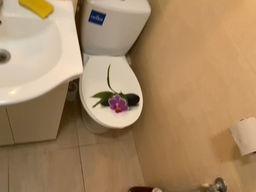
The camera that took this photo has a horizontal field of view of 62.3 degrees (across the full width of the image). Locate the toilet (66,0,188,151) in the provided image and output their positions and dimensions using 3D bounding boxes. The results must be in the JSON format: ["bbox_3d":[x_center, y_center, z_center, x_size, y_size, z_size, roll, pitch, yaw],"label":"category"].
[{"bbox_3d":[-0.110,-0.110,1.280,0.380,0.740,0.650,-1,62,-24],"label":"toilet"}]

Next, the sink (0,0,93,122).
[{"bbox_3d":[-0.410,-0.130,0.670,0.510,0.190,0.380,-2,62,-24],"label":"sink"}]
